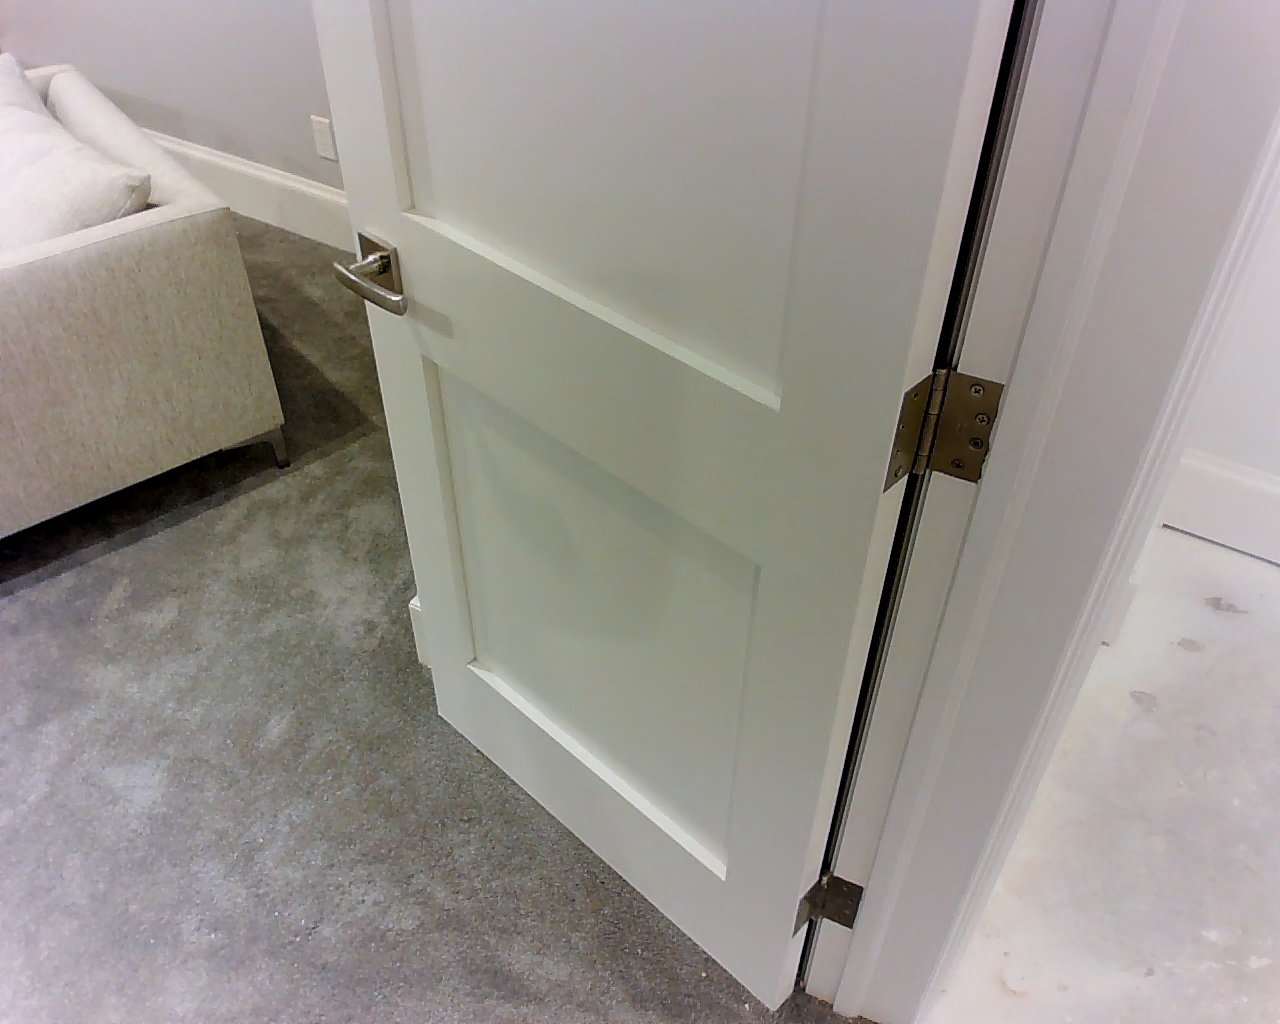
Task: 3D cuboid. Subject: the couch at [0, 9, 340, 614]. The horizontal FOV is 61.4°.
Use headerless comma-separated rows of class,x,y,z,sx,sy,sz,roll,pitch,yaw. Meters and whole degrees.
couch,-1.470,-0.430,2.260,1.120,0.720,1.120,-29,49,-30
